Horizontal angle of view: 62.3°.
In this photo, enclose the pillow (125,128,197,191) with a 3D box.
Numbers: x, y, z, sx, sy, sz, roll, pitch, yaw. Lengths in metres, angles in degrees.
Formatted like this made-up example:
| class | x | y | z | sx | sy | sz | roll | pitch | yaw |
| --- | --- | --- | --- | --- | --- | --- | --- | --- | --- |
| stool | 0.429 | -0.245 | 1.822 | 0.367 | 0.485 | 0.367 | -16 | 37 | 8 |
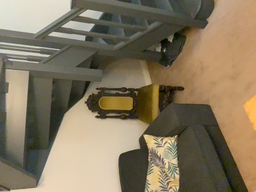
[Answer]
| class | x | y | z | sx | sy | sz | roll | pitch | yaw |
| --- | --- | --- | --- | --- | --- | --- | --- | --- | --- |
| pillow | 0.340 | 0.680 | 2.170 | 0.590 | 0.390 | 0.260 | -41 | 16 | -21 |
